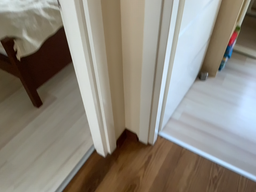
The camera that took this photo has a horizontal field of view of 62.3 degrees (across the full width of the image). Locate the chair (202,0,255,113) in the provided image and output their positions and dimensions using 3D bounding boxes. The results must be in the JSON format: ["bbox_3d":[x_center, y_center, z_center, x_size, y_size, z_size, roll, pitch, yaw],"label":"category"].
[{"bbox_3d":[1.080,-0.510,1.630,0.540,1.240,0.470,-22,51,-16],"label":"chair"}]
